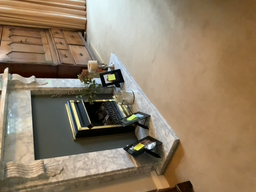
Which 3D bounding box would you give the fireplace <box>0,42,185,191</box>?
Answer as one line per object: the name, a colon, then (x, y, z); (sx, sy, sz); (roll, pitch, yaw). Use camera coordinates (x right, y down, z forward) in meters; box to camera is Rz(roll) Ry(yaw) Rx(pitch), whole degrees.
fireplace: (-0.480, 0.070, 1.990); (1.560, 1.220, 0.480); (56, 139, 47)
